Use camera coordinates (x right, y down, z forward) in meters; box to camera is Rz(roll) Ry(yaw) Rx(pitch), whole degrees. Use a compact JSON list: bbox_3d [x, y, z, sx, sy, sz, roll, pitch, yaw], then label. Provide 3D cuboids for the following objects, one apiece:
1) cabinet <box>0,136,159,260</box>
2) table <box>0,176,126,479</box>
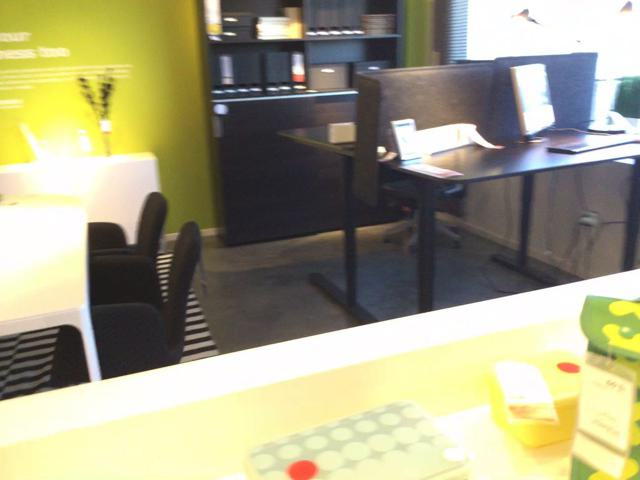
[{"bbox_3d":[-2.400,-0.290,4.000,2.420,0.800,0.440,-4,14,-18],"label":"cabinet"},{"bbox_3d":[-1.690,0.300,2.450,1.570,0.860,2.050,-4,14,-18],"label":"table"}]
